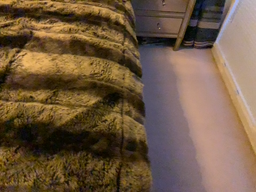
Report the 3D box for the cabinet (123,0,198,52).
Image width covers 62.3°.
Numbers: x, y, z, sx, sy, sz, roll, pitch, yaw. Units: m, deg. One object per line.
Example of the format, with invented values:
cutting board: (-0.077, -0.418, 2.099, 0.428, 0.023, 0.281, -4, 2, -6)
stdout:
cabinet: (0.230, -0.740, 1.790, 0.500, 0.520, 0.450, 3, 50, -5)
